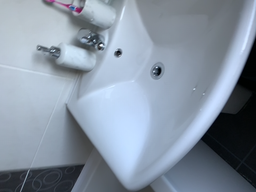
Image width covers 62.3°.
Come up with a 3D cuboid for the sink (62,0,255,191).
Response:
[{"bbox_3d":[0.080,-0.070,0.660,0.490,0.200,0.620,44,113,41],"label":"sink"}]
